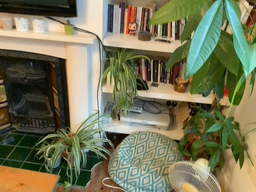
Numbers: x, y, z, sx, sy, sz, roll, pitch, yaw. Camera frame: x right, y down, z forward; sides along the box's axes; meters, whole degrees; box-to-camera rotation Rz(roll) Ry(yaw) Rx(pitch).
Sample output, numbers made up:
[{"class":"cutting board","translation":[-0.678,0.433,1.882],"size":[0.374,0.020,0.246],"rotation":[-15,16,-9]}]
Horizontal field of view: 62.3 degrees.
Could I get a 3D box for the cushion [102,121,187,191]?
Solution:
[{"class":"cushion","translation":[0.150,0.500,1.730],"size":[0.590,0.240,0.480],"rotation":[11,30,11]}]
